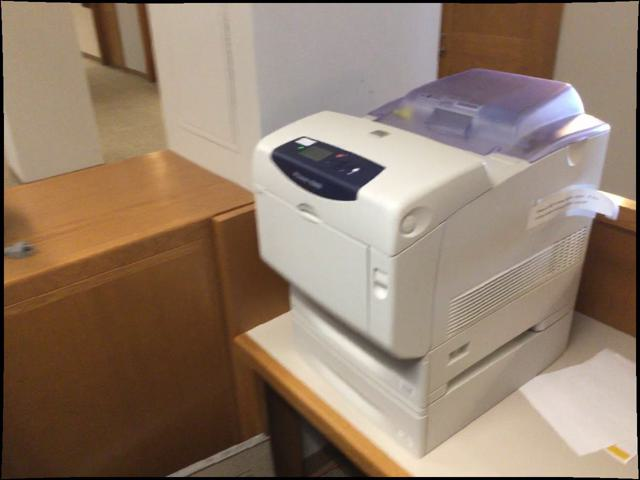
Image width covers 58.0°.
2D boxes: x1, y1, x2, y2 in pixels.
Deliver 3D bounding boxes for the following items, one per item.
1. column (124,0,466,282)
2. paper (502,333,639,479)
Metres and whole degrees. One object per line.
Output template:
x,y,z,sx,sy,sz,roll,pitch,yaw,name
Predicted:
-0.090,-0.531,1.540,0.609,0.922,0.690,-22,35,-27,column
0.589,0.331,1.190,0.320,0.020,0.260,-22,35,-27,paper
